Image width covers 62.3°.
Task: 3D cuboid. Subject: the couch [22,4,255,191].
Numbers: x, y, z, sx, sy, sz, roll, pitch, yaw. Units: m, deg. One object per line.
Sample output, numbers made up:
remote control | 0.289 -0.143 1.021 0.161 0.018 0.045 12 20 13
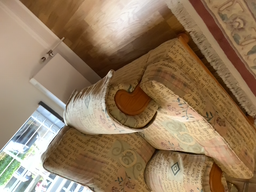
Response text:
couch | 0.100 0.260 1.500 1.040 0.880 1.010 44 147 -21
